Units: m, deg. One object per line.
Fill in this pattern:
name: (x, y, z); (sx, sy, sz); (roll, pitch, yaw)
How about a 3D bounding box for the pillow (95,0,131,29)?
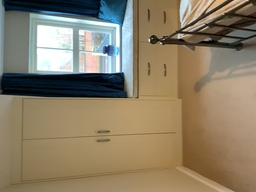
pillow: (-0.240, -1.310, 3.200); (0.510, 0.430, 0.200); (111, 152, -46)
